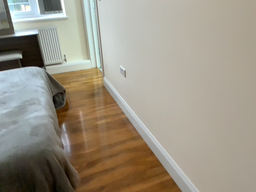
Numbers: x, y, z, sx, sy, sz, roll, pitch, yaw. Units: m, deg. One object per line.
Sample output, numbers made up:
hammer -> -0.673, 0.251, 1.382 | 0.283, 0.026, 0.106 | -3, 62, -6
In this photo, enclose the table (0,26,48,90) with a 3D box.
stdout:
table -> -1.860, -0.520, 3.020 | 1.190, 0.760, 0.420 | -13, 29, -19
